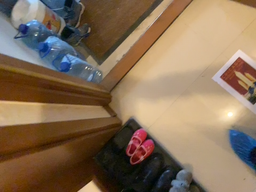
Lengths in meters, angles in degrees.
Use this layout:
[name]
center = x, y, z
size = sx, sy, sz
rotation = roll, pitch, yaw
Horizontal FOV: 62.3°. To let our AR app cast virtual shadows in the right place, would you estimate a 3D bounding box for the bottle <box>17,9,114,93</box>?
[bottle]
center = -0.330, -0.230, 1.200
size = 0.490, 0.350, 0.090
rotation = 45, 97, 12
